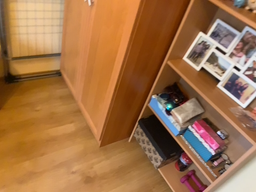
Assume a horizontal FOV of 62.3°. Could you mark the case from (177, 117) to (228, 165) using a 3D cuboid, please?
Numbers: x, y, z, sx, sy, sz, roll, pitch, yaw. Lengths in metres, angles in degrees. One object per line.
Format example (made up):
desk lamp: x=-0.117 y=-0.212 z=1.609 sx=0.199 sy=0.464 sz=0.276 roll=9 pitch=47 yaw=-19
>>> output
case: x=0.410 y=0.250 z=1.190 sx=0.140 sy=0.150 sz=0.180 roll=-14 pitch=51 yaw=-34

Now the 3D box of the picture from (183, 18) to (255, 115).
picture: x=0.500 y=-0.160 z=1.030 sx=0.100 sy=0.240 sz=0.450 roll=-12 pitch=48 yaw=-32
